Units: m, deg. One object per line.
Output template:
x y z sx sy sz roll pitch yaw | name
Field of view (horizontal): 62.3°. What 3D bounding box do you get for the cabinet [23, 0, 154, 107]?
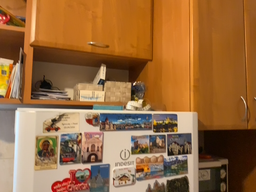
-0.200 -0.280 1.140 0.610 0.670 0.290 2 -4 -22 | cabinet
